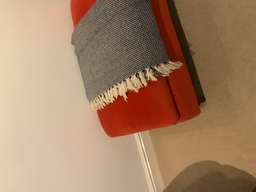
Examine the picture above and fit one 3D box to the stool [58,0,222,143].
[{"bbox_3d":[0.010,-0.270,1.220,0.600,0.420,0.930,-24,80,51],"label":"stool"}]
